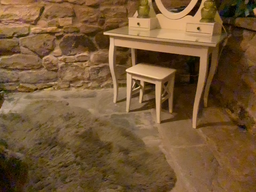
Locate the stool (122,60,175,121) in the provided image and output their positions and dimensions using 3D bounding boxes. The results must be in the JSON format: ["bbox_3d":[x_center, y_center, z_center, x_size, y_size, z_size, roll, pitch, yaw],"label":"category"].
[{"bbox_3d":[0.200,-0.070,2.060,0.400,0.450,0.310,13,29,25],"label":"stool"}]
